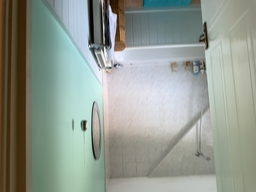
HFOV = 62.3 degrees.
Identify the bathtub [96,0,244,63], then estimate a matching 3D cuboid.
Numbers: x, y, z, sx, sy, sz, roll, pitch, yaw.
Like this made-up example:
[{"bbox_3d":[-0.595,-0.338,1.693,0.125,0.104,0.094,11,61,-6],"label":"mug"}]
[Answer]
[{"bbox_3d":[0.500,-0.860,2.960,1.760,0.540,0.800,-3,174,-1],"label":"bathtub"}]
